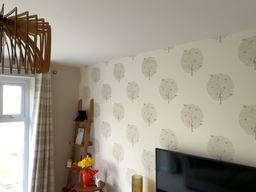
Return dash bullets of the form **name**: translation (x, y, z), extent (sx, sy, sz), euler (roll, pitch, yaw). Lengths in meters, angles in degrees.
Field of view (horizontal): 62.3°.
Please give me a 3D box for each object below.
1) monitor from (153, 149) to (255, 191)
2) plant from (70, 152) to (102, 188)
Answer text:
- **monitor**: translation (0.610, 0.790, 1.730), extent (0.070, 0.540, 0.960), euler (2, -2, -45)
- **plant**: translation (-0.540, 0.940, 2.740), extent (0.320, 0.330, 0.230), euler (2, -2, -45)
